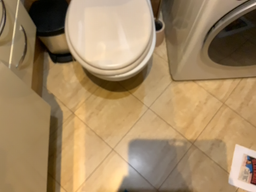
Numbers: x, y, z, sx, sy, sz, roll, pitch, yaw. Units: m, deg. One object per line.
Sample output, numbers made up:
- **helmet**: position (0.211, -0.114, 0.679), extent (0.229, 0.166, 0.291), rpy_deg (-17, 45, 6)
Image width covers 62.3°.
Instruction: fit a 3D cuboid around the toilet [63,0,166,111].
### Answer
- **toilet**: position (-0.080, -0.260, 1.080), extent (0.370, 0.480, 0.530), rpy_deg (-6, 71, -3)
